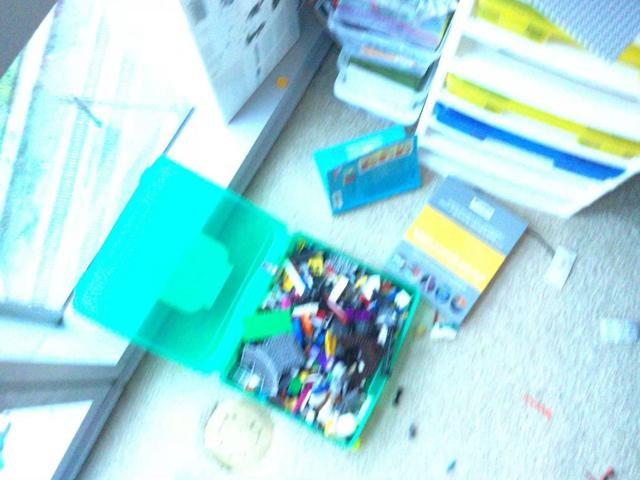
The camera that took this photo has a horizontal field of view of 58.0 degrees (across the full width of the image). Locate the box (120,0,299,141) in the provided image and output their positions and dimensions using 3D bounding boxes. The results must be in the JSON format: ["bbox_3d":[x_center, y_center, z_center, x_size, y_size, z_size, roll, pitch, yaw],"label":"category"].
[{"bbox_3d":[-0.160,-0.390,0.990,0.180,0.250,0.440,9,-14,4],"label":"box"}]

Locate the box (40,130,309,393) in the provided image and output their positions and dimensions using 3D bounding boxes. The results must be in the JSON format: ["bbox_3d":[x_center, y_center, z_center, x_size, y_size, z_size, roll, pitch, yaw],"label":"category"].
[{"bbox_3d":[-0.260,0.050,1.140,0.340,0.380,0.200,24,-13,8],"label":"box"}]

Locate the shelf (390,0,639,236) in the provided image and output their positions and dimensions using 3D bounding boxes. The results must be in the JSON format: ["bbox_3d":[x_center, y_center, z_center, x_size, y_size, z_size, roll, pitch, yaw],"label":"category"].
[{"bbox_3d":[0.380,-0.300,0.930,0.430,0.370,0.640,9,-14,4],"label":"shelf"}]

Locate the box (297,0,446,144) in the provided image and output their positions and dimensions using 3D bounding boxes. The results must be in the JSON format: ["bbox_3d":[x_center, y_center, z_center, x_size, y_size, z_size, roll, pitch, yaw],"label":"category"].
[{"bbox_3d":[0.110,-0.430,1.130,0.230,0.350,0.320,9,-14,4],"label":"box"}]

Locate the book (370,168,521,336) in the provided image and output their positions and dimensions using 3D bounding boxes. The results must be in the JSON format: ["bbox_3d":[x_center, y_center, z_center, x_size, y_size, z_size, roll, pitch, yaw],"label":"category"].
[{"bbox_3d":[0.260,0.020,1.190,0.270,0.310,0.030,9,-14,4],"label":"book"}]
